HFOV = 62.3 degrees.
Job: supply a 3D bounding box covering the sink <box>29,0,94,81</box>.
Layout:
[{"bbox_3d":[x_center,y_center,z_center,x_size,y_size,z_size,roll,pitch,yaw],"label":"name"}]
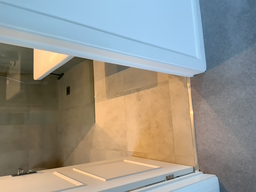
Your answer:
[{"bbox_3d":[-0.590,-0.460,1.720,0.890,0.160,0.470,-16,75,48],"label":"sink"}]
